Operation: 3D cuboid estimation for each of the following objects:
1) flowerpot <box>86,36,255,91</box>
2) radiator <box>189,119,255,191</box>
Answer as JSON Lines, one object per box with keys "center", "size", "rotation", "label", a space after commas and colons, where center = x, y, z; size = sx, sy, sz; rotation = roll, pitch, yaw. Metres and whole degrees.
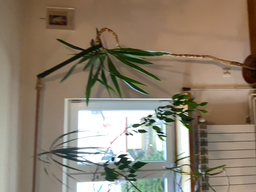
{"center": [0.520, -0.250, 1.890], "size": [0.500, 1.730, 0.360], "rotation": [163, 106, -82], "label": "flowerpot"}
{"center": [0.990, 0.660, 2.070], "size": [0.160, 0.730, 0.850], "rotation": [150, 120, -79], "label": "radiator"}
